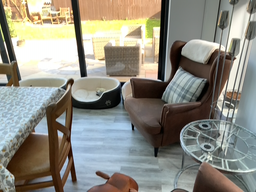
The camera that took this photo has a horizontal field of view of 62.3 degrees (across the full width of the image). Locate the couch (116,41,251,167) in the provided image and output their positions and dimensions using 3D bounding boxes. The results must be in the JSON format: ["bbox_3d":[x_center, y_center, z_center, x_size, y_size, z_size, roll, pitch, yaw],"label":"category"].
[{"bbox_3d":[0.520,0.000,2.350,1.060,0.970,0.790,-11,28,-20],"label":"couch"}]
